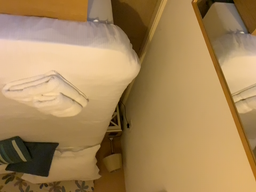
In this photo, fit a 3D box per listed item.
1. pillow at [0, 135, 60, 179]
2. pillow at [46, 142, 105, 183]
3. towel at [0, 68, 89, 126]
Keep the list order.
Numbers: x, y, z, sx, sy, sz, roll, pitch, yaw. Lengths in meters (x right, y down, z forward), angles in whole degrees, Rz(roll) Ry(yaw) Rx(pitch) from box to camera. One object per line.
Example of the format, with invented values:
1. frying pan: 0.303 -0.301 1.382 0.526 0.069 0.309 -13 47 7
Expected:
1. pillow: -1.060 0.610 2.060 0.730 0.250 0.550 0 151 -15
2. pillow: -0.590 0.770 2.430 0.590 0.300 0.490 -1 151 -13
3. towel: -0.470 0.030 1.230 0.350 0.110 0.380 -13 151 9
